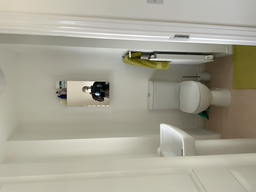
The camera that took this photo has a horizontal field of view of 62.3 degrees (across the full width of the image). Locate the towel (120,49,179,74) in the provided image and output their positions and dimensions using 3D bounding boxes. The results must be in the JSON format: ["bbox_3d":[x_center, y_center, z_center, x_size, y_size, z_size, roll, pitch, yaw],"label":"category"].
[{"bbox_3d":[0.220,-0.370,2.360,0.410,0.560,0.190,180,90,-80],"label":"towel"}]

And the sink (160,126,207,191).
[{"bbox_3d":[0.410,0.500,1.680,0.560,0.140,0.430,-167,77,-80],"label":"sink"}]
